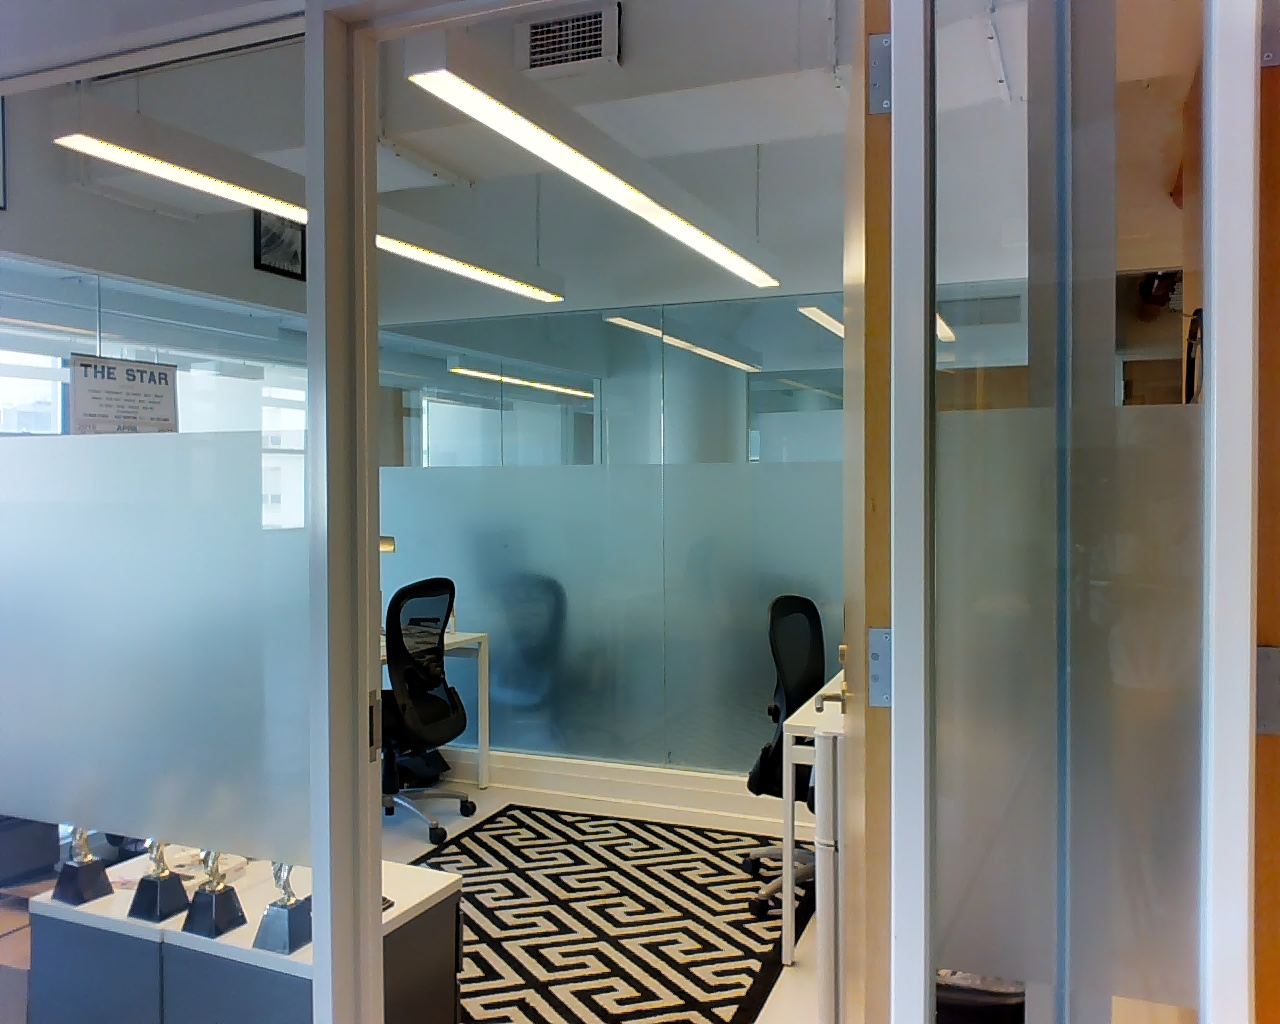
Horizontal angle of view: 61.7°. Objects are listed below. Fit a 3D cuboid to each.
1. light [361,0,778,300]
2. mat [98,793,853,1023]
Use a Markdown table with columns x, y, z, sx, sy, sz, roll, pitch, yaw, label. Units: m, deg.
| x | y | z | sx | sy | sz | roll | pitch | yaw | label |
| --- | --- | --- | --- | --- | --- | --- | --- | --- | --- |
| 0.000 | -0.930 | 3.240 | 0.220 | 0.160 | 2.450 | 0 | 1 | 22 | light |
| -0.300 | 1.350 | 3.570 | 1.610 | 0.090 | 2.160 | 0 | 1 | 22 | mat |
